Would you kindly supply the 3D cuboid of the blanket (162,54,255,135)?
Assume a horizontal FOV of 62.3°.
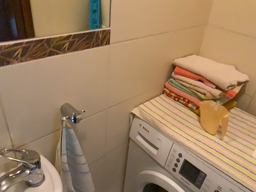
[{"bbox_3d":[0.360,-0.030,0.930,0.300,0.180,0.260,-23,43,-38],"label":"blanket"}]
